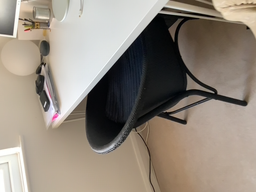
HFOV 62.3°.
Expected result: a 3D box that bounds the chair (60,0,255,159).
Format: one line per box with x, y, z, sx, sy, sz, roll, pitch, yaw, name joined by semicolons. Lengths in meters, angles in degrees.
0.120;-0.070;1.130;0.600;0.710;0.550;-36;65;51;chair
